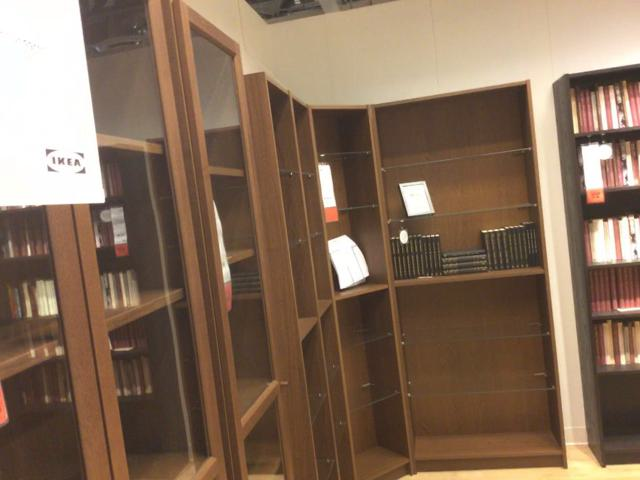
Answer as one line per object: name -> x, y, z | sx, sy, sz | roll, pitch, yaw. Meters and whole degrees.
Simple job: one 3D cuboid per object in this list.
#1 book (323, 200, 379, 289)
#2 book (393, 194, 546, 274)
book -> 0.170, 0.020, 3.000 | 0.200, 0.360, 0.310 | -6, 19, 13
book -> 0.770, -0.030, 3.020 | 0.730, 0.280, 0.230 | -6, 19, 13
